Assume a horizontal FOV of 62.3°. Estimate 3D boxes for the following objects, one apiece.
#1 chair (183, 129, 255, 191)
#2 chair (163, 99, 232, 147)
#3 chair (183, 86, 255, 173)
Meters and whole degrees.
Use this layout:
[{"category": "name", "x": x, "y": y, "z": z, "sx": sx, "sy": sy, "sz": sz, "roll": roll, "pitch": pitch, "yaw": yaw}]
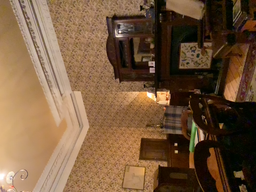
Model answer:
[{"category": "chair", "x": 0.840, "y": 0.600, "z": 1.310, "sx": 0.490, "sy": 0.900, "sz": 0.560, "roll": -77, "pitch": -15, "yaw": -51}, {"category": "chair", "x": 1.170, "y": 0.430, "z": 3.820, "sx": 0.820, "sy": 1.050, "sz": 0.710, "roll": -11, "pitch": -78, "yaw": -81}, {"category": "chair", "x": 0.910, "y": 0.260, "z": 1.640, "sx": 0.390, "sy": 0.880, "sz": 0.530, "roll": -76, "pitch": -16, "yaw": -54}]
